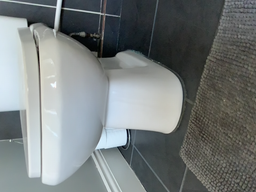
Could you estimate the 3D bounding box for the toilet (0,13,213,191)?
[{"bbox_3d":[-0.320,-0.040,0.730,0.710,0.810,0.390,-137,51,-56],"label":"toilet"}]
